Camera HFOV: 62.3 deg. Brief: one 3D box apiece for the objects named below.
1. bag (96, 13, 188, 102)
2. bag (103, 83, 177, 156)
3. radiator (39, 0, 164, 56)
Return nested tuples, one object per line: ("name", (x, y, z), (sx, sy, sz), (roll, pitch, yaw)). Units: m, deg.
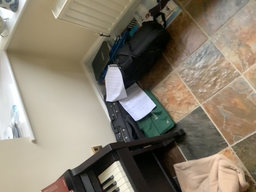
("bag", (0.080, -0.260, 1.640), (0.630, 0.230, 0.320), (-39, 66, 32))
("bag", (0.080, 0.170, 1.590), (0.350, 0.240, 0.390), (-41, 65, 31))
("radiator", (-0.030, -0.730, 1.360), (1.030, 0.620, 0.200), (-44, 64, 30))
